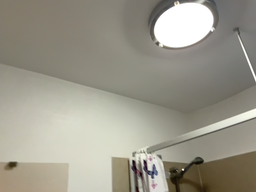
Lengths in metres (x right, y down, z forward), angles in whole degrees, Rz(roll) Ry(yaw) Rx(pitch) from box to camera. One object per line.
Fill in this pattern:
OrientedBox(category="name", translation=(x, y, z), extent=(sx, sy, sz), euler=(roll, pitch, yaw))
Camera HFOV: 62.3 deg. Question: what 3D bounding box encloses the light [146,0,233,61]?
OrientedBox(category="light", translation=(0.250, -0.300, 0.960), extent=(0.270, 0.100, 0.320), euler=(0, 153, -7))
